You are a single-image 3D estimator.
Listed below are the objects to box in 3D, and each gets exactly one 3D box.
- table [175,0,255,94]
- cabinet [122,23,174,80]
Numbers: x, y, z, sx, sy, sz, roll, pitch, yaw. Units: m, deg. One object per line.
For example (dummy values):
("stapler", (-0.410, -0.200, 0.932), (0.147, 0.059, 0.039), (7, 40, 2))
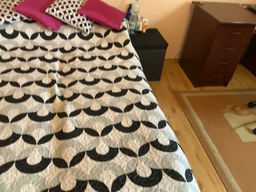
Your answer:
("table", (1.340, -0.570, 2.300), (1.310, 0.740, 0.710), (-4, 40, -13))
("cabinet", (0.180, -0.480, 2.260), (0.390, 0.440, 0.400), (-4, 40, -13))
